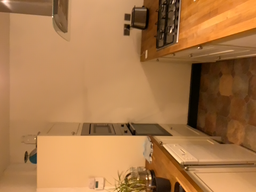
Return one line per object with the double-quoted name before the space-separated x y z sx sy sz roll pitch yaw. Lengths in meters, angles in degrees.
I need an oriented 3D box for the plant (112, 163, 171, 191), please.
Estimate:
"plant" 0.090 0.760 1.740 0.350 0.410 0.290 -170 82 -80
